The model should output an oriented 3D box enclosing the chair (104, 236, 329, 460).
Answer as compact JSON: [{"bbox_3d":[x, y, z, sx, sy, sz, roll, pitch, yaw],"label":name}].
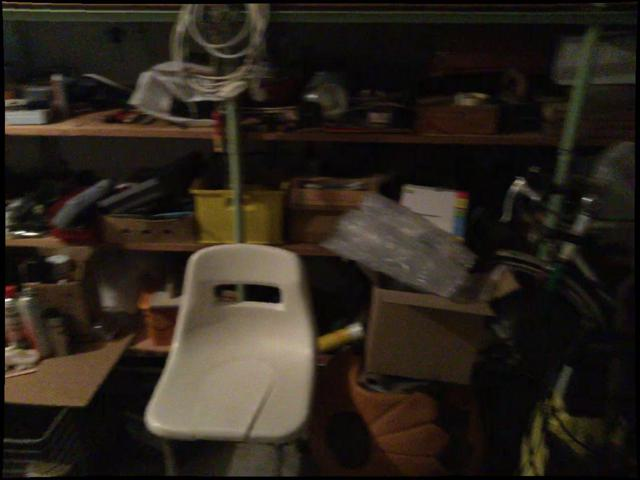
[{"bbox_3d":[-0.230,0.270,1.590,0.480,0.380,0.480,0,28,4],"label":"chair"}]

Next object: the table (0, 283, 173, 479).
[{"bbox_3d":[-0.879,0.470,1.880,0.609,0.460,0.500,0,28,4],"label":"table"}]
